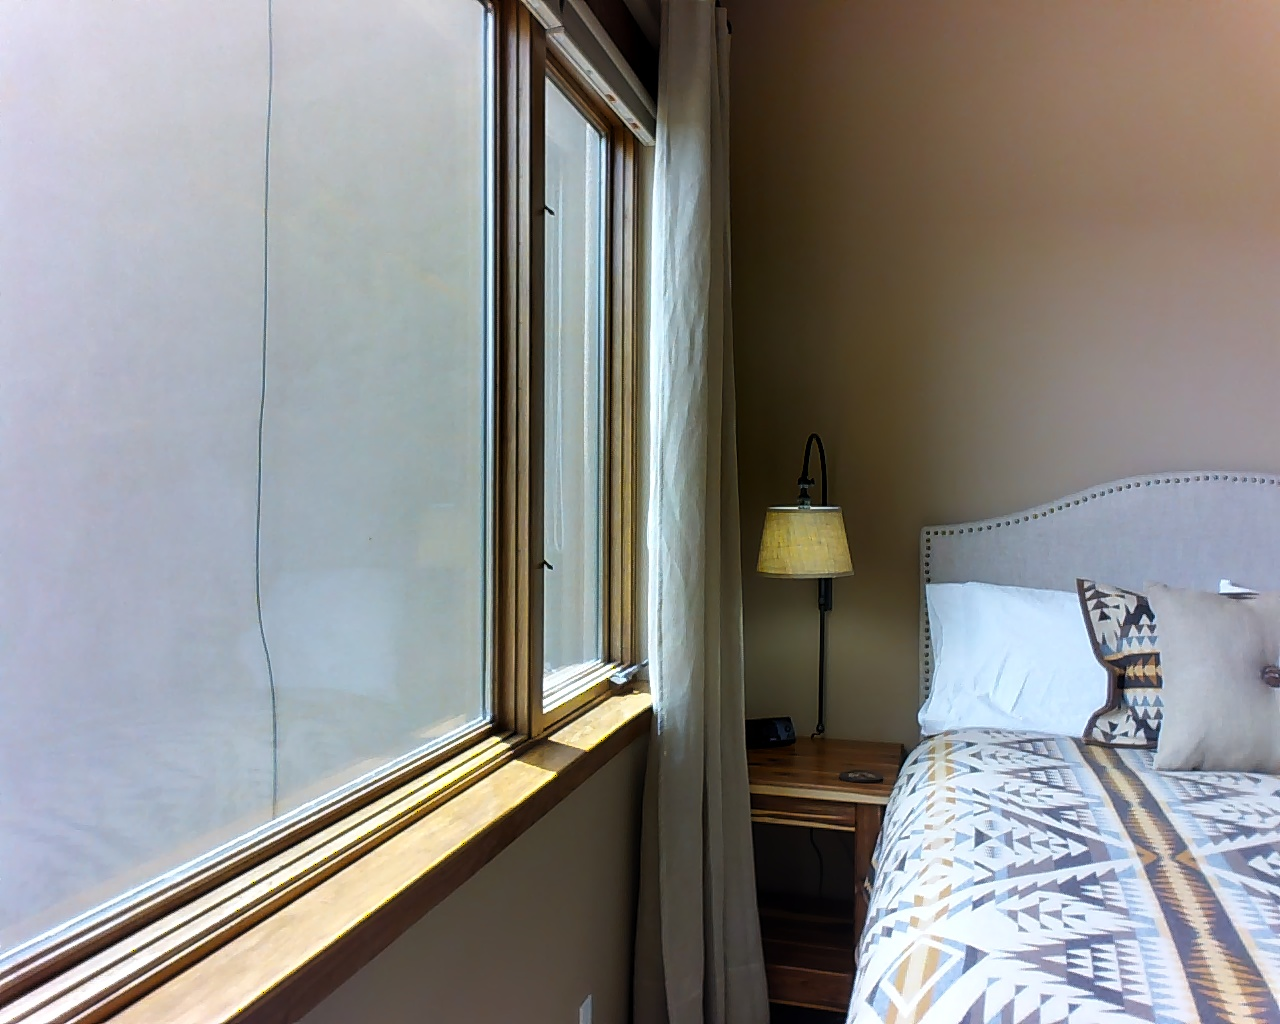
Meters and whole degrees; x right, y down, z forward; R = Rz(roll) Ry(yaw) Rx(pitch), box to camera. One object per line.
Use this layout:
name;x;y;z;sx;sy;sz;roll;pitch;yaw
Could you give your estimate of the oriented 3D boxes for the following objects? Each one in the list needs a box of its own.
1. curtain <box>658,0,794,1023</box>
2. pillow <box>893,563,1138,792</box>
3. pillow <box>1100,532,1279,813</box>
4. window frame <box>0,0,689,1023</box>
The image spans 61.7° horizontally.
curtain;0.250;0.010;2.890;0.220;2.781;0.720;1;0;15
pillow;1.000;0.430;2.870;0.480;0.430;0.150;24;6;25
pillow;1.420;0.380;2.430;0.500;0.480;0.210;30;8;13
window frame;-0.400;-0.240;1.380;0.290;1.550;2.970;1;0;15
